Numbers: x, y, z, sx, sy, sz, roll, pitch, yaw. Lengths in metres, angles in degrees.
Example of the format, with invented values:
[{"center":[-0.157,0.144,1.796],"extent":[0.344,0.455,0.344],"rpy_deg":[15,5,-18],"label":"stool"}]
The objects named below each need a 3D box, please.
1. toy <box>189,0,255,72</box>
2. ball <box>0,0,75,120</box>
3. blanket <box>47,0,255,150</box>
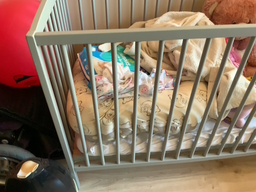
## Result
[{"center":[0.590,-0.390,1.150],"extent":[0.360,0.420,0.260],"rpy_deg":[-4,42,-6],"label":"toy"},{"center":[-0.500,-0.220,1.030],"extent":[0.360,0.520,0.410],"rpy_deg":[-3,42,-5],"label":"ball"},{"center":[0.070,-0.150,1.060],"extent":[0.730,0.410,0.630],"rpy_deg":[-4,42,-6],"label":"blanket"}]
